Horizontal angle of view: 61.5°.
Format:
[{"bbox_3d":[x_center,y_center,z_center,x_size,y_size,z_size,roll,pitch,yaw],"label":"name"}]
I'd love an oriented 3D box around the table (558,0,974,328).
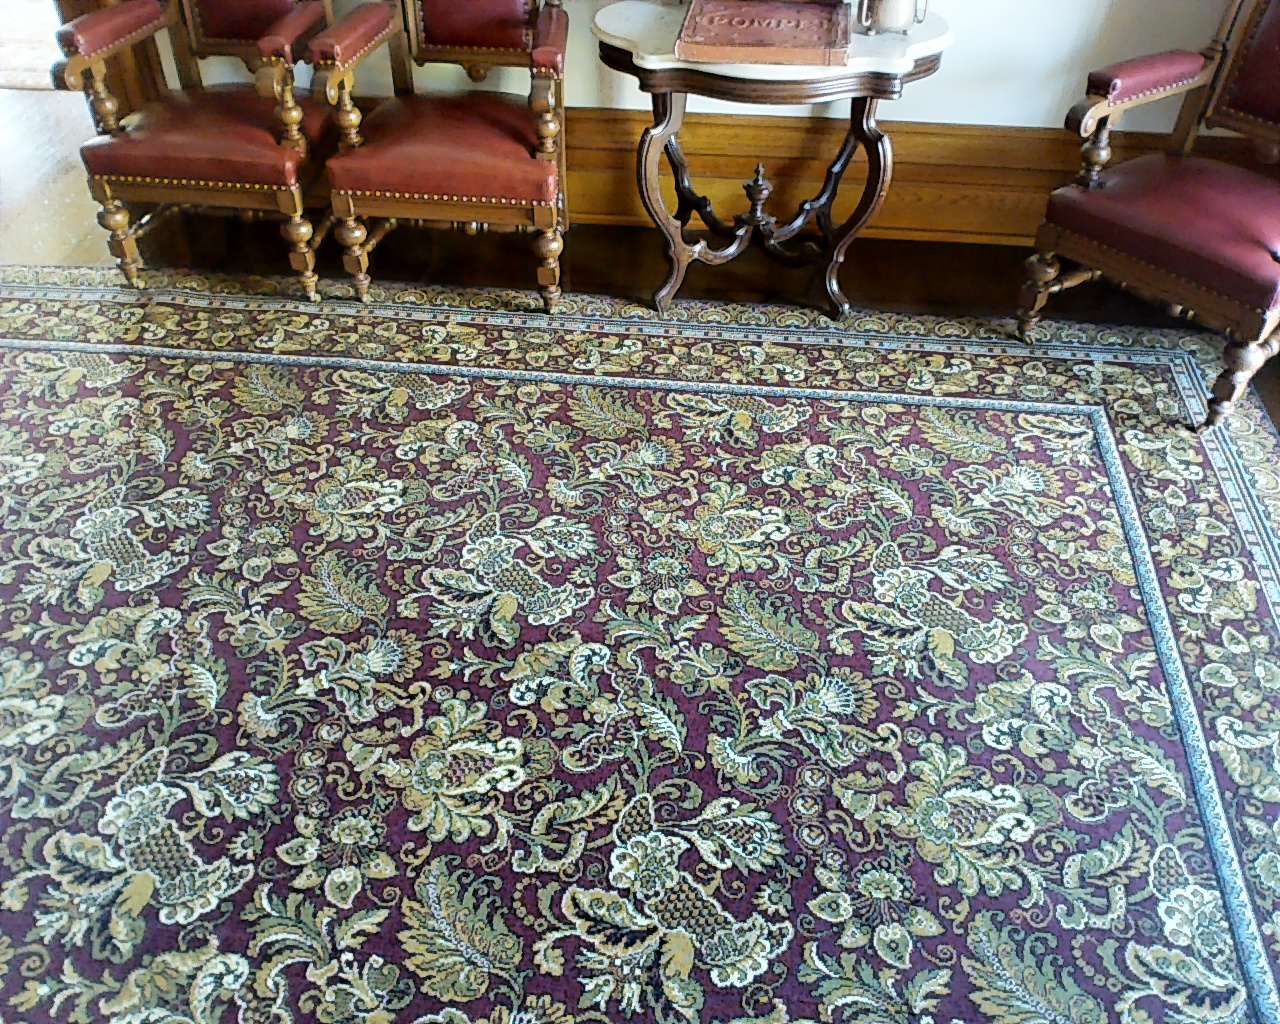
[{"bbox_3d":[0.320,-1.010,2.920,0.940,0.690,0.680,5,42,5],"label":"table"}]
